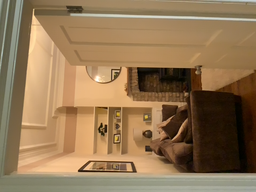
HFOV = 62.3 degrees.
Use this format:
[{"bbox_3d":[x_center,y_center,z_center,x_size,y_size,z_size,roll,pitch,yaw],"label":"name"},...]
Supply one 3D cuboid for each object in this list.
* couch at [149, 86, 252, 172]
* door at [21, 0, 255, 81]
[{"bbox_3d":[0.960,0.520,3.560,2.050,0.930,1.010,108,163,-82],"label":"couch"},{"bbox_3d":[0.500,-0.330,1.540,0.990,2.050,0.150,103,168,-79],"label":"door"}]
